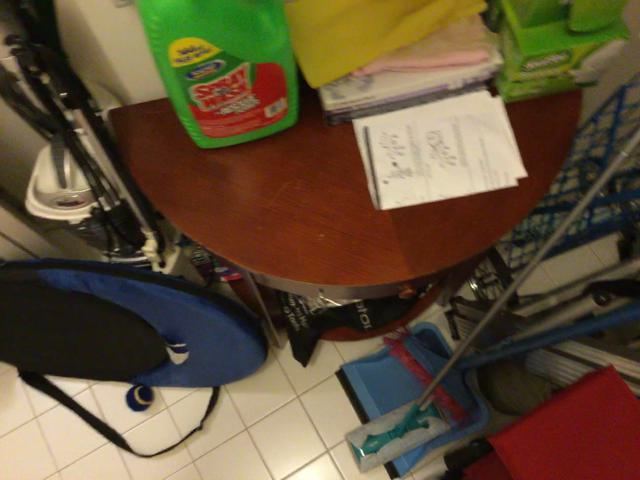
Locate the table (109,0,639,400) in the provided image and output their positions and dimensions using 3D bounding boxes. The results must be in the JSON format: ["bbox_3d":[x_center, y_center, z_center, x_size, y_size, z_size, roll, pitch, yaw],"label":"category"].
[{"bbox_3d":[0.070,-0.010,1.200,0.670,0.820,0.460,-14,71,-4],"label":"table"}]
